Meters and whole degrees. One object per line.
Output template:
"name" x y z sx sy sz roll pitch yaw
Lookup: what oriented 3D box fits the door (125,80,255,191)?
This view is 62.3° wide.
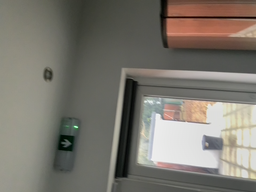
"door" 0.970 0.310 1.470 0.080 1.920 0.720 51 -136 -75
